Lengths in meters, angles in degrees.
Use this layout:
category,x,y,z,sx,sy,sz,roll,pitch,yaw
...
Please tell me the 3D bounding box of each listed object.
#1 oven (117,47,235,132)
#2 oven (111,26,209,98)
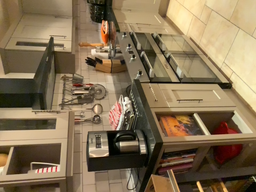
category,x,y,z,sx,sy,sz,roll,pitch,yaw
oven,0.410,-0.060,2.170,0.500,0.920,0.650,-106,21,-48
oven,0.320,-0.390,2.540,0.510,0.920,0.650,-106,21,-48
